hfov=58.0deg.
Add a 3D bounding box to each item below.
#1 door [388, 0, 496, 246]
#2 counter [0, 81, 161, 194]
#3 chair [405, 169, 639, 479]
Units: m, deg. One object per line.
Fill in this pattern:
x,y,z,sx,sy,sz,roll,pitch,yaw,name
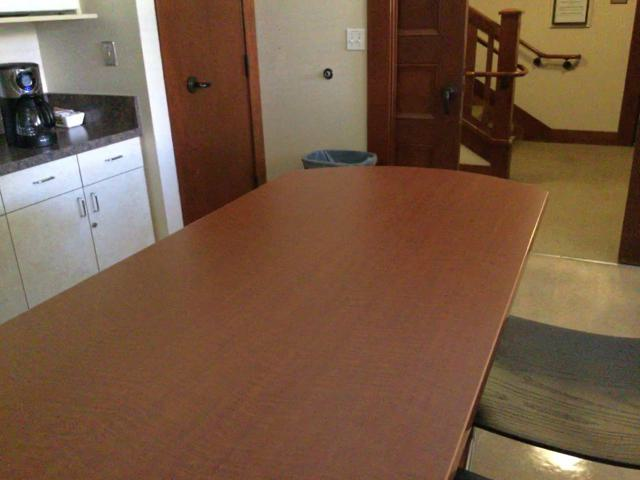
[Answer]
0.640,-0.750,3.140,0.520,1.560,0.140,11,27,30,door
-1.560,-0.350,2.280,0.660,0.310,1.910,9,24,27,counter
0.520,0.370,1.250,0.530,0.910,0.480,9,24,26,chair
